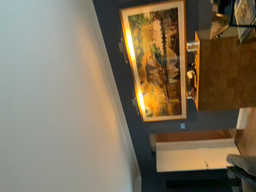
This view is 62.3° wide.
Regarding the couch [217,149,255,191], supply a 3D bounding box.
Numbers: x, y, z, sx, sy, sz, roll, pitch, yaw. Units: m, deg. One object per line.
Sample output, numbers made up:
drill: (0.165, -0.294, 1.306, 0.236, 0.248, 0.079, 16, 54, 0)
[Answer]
couch: (1.770, 1.200, 2.680, 1.220, 0.820, 0.930, 44, -139, -76)
